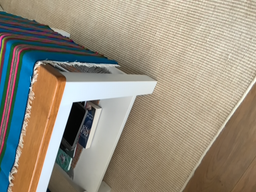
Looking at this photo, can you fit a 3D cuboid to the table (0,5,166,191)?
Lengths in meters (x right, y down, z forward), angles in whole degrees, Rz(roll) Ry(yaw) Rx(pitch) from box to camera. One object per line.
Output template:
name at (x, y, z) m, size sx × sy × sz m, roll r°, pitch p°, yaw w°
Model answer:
table at (-0.390, 0.080, 0.930) m, size 0.730 × 0.510 × 0.710 m, roll 34°, pitch 112°, yaw 29°
